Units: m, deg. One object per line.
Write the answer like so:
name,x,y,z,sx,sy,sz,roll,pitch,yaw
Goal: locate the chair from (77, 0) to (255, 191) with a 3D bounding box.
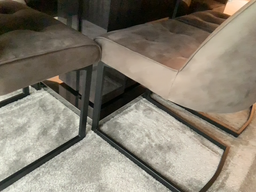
chair,0.250,-0.160,0.720,0.640,0.950,0.490,32,39,25
